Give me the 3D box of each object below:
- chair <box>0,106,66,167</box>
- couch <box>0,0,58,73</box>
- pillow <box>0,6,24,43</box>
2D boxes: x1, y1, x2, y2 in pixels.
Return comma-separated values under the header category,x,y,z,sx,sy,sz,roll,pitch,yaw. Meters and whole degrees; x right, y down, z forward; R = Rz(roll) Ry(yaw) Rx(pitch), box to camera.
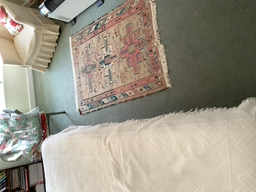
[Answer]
category,x,y,z,sx,sy,sz,roll,pitch,yaw
chair,-1.250,0.460,2.670,0.660,0.620,0.610,-6,86,43
couch,-1.550,-0.820,2.760,0.770,0.830,0.660,49,121,31
pillow,-1.590,-0.920,2.760,0.370,0.290,0.270,-16,79,42
